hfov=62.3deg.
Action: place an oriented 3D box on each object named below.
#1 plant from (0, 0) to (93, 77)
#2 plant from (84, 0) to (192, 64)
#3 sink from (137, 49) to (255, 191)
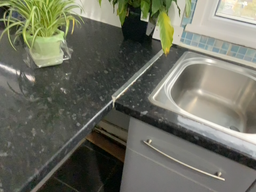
[{"bbox_3d":[-0.340,-0.290,0.790,0.310,0.260,0.280,21,38,18],"label":"plant"},{"bbox_3d":[0.040,-0.400,0.980,0.420,0.320,0.240,23,39,20],"label":"plant"},{"bbox_3d":[0.330,0.040,0.860,0.380,0.210,0.510,22,38,19],"label":"sink"}]
